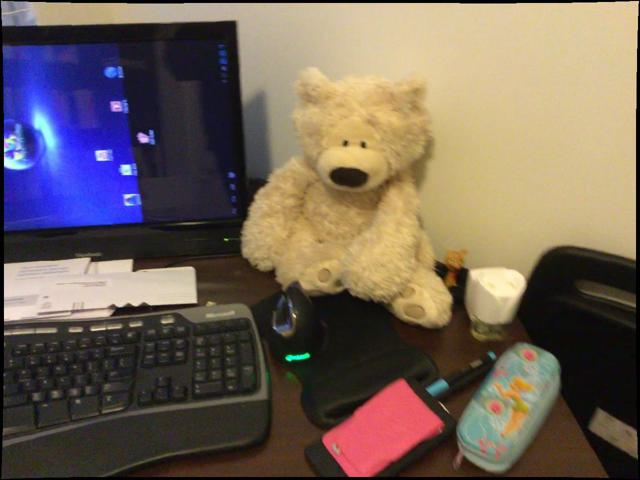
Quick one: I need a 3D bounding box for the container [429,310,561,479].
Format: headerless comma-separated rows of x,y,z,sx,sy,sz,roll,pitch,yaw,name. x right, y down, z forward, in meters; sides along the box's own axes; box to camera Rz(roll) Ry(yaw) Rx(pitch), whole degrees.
0.219,0.180,0.710,0.080,0.040,0.210,24,45,26,container

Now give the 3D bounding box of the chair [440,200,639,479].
0.439,0.241,0.830,0.459,0.471,0.120,24,45,26,chair
